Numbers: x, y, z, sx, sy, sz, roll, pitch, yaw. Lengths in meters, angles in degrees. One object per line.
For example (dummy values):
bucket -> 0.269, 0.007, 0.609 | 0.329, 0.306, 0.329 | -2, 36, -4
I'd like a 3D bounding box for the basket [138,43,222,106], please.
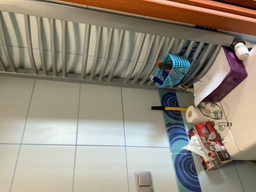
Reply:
basket -> 0.260, -0.100, 1.160 | 0.320, 0.320, 0.140 | 113, 157, -52
